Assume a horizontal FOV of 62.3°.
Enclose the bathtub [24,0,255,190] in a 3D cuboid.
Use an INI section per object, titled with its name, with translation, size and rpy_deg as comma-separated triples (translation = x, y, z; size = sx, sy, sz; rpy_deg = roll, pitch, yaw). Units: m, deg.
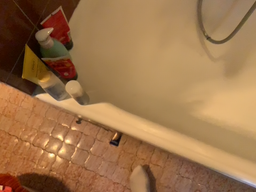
[bathtub]
translation = 0.480, 0.000, 0.880
size = 1.390, 0.590, 0.660
rpy_deg = 21, 78, 6
